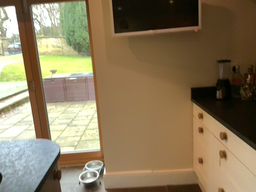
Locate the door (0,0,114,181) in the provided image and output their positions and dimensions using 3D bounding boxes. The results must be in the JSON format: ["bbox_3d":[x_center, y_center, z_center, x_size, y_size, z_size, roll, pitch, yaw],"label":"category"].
[{"bbox_3d":[-1.480,-0.080,2.480,2.480,2.260,0.210,-4,13,-3],"label":"door"}]
